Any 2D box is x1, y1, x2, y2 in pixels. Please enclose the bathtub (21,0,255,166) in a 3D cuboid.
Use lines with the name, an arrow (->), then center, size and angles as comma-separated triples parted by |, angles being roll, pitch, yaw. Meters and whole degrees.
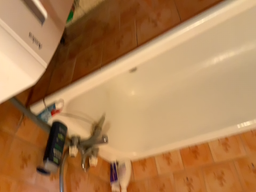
bathtub -> 0.320, -0.220, 1.010 | 1.380, 0.580, 0.690 | -23, 133, 25
